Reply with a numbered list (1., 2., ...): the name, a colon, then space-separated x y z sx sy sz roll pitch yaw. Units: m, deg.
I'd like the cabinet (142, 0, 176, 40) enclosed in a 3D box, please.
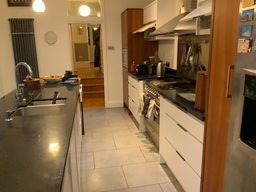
1. cabinet: 0.520 -1.330 3.790 0.300 0.600 0.880 -3 14 -12
